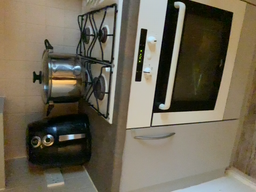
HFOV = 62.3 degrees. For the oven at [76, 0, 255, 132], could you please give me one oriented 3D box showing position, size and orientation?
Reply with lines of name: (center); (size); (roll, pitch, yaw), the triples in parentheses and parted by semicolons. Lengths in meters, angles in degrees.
oven: (0.250, -0.230, 1.230); (0.590, 0.920, 0.600); (28, 115, 58)
